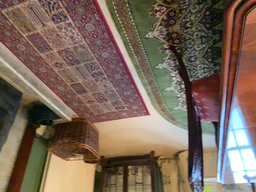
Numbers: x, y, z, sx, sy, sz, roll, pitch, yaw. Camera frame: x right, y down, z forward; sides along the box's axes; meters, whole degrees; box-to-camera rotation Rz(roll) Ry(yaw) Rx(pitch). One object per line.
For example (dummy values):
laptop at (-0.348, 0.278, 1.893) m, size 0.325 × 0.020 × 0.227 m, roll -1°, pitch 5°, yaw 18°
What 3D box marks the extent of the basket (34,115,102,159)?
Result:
basket at (-0.710, 0.530, 2.640) m, size 0.570 × 0.280 × 0.570 m, roll -10°, pitch 144°, yaw 15°
